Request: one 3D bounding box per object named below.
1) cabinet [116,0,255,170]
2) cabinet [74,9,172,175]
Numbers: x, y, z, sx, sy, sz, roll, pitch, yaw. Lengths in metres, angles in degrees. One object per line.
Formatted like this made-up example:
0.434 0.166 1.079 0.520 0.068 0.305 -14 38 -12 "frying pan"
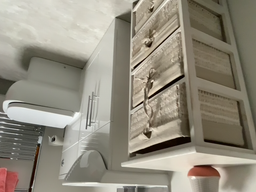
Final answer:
0.190 -0.160 0.860 0.320 0.830 0.370 13 154 -24 "cabinet"
-0.050 0.020 1.290 0.330 0.830 0.510 13 154 -24 "cabinet"
